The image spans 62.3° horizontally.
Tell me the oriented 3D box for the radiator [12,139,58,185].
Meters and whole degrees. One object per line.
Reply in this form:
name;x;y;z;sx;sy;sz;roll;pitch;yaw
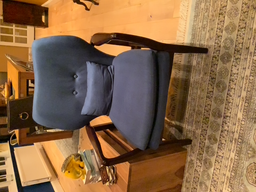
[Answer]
radiator;-2.110;1.370;4.670;1.610;0.670;0.150;21;109;55

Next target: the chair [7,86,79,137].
chair;-1.260;0.170;3.120;0.640;0.850;0.550;20;108;55
